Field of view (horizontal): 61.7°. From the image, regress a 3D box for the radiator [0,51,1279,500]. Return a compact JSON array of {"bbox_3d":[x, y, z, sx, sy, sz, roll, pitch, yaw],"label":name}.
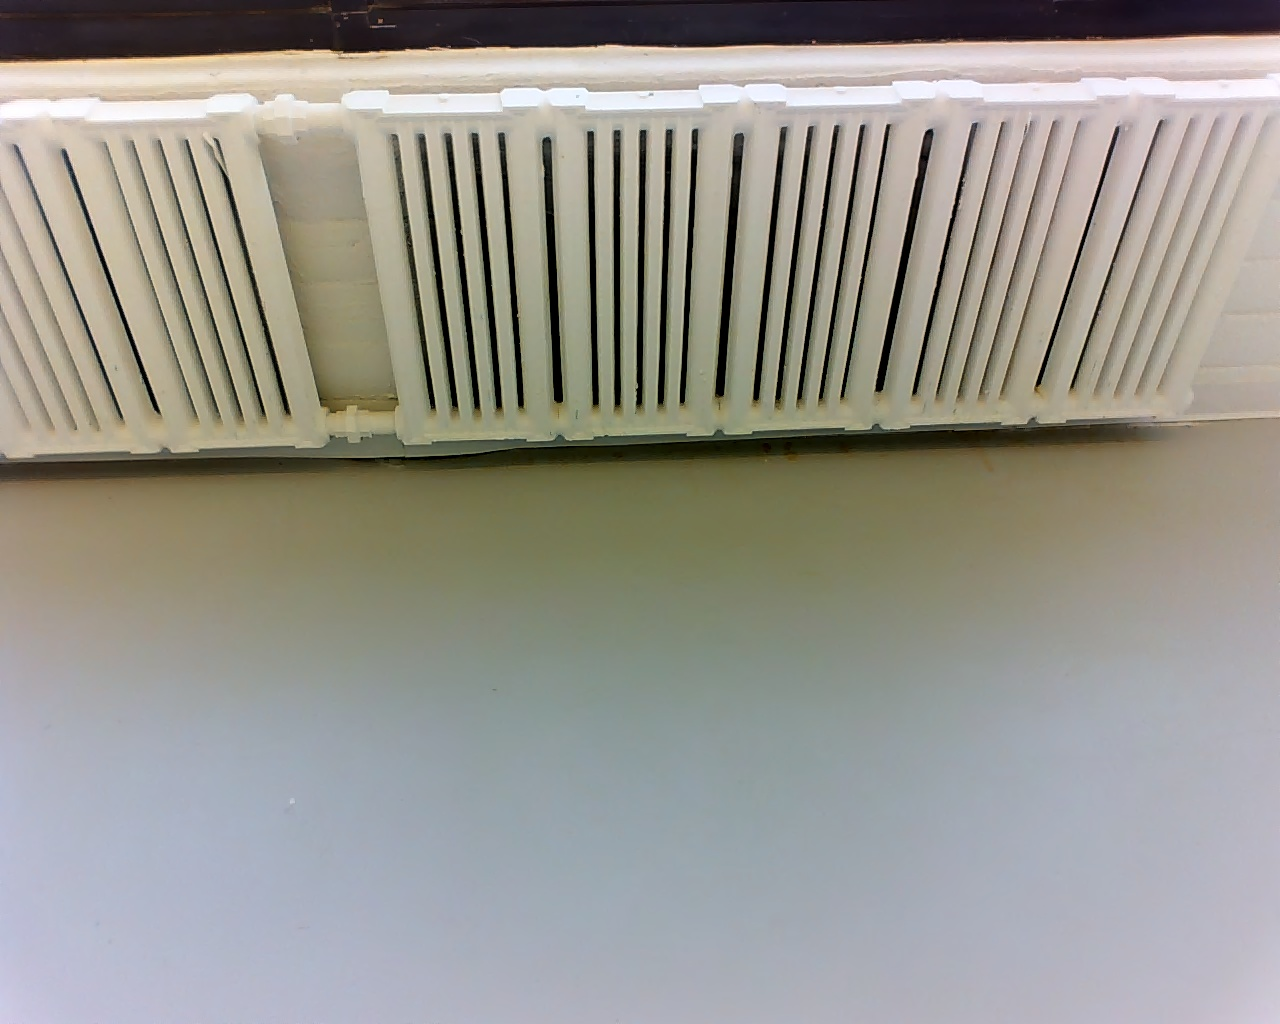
[{"bbox_3d":[-0.090,-0.430,2.100,4.820,0.820,0.170,-2,41,-2],"label":"radiator"}]
